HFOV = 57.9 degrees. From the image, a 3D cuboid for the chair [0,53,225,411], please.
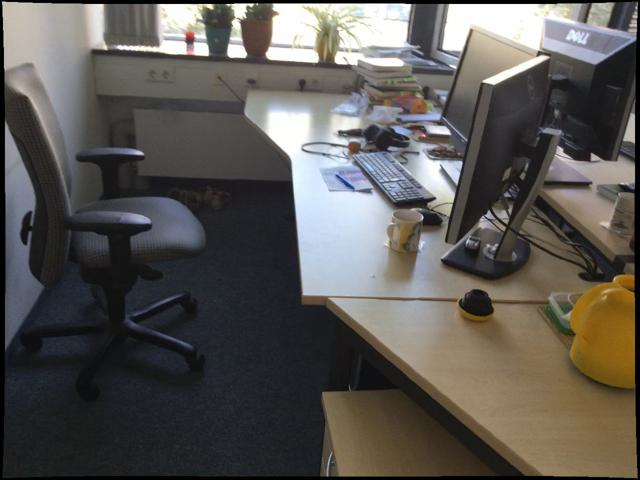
[{"bbox_3d":[-0.709,-0.070,2.000,0.619,0.981,0.680,-6,30,-17],"label":"chair"}]
